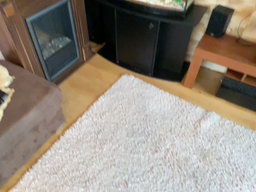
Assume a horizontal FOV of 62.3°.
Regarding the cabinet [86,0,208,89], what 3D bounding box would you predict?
[{"bbox_3d":[0.150,-0.610,2.130,1.010,0.650,0.410,24,52,18],"label":"cabinet"}]
